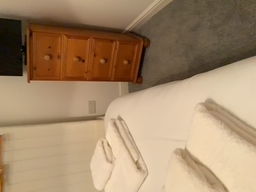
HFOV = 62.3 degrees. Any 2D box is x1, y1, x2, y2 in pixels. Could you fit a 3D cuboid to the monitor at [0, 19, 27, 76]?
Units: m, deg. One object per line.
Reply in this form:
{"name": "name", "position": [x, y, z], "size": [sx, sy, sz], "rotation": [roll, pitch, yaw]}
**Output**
{"name": "monitor", "position": [-1.090, -0.410, 1.860], "size": [0.050, 0.340, 0.500], "rotation": [-125, 39, -52]}
